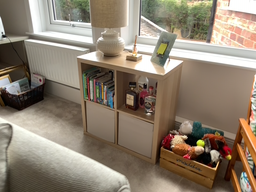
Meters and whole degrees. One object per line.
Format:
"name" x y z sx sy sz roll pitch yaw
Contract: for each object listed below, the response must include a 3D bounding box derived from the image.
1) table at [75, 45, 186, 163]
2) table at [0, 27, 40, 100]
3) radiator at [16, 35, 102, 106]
"table" 0.010 0.020 1.890 0.780 0.760 0.450 16 29 26
"table" -1.980 -0.540 2.950 1.310 0.730 0.640 17 30 28
"radiator" -0.830 -0.340 2.530 1.090 0.610 0.230 16 29 27
